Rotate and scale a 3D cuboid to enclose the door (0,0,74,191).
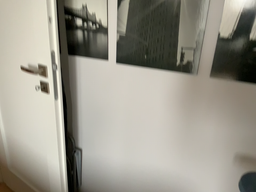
[{"bbox_3d":[-0.670,-0.120,1.210,0.870,2.070,0.110,18,27,31],"label":"door"}]
